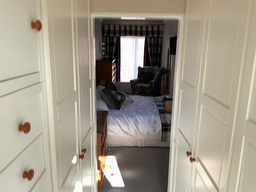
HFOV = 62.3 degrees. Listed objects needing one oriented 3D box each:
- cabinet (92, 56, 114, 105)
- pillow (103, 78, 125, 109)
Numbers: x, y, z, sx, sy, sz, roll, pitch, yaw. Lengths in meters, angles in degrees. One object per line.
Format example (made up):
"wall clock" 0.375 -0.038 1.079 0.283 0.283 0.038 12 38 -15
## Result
"cabinet" -0.690 -0.480 6.120 0.490 1.270 0.900 1 13 0
"pillow" -0.280 -0.090 4.350 0.380 0.390 1.220 0 13 -3
